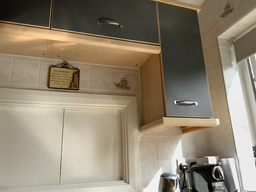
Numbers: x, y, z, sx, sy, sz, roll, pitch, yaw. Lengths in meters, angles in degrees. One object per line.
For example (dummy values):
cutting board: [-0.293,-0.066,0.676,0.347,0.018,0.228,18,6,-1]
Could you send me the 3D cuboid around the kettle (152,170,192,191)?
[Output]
kettle: [0.230,0.530,1.100,0.150,0.260,0.160,1,-17,-12]
